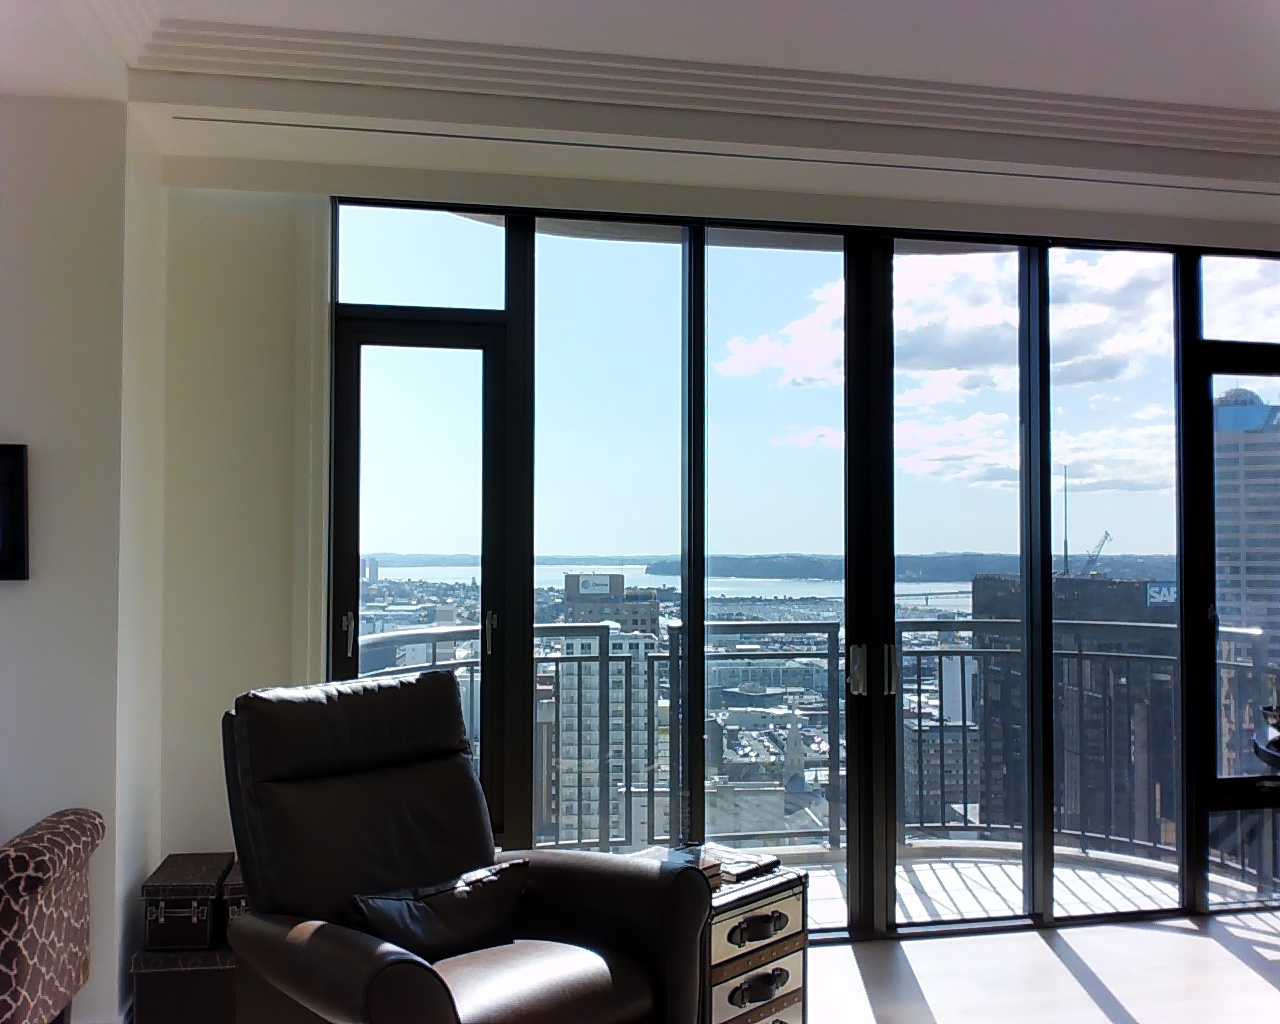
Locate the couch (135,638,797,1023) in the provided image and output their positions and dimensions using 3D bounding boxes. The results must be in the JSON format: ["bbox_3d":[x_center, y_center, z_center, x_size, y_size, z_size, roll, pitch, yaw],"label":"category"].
[{"bbox_3d":[-0.400,0.890,2.480,1.110,1.050,1.040,-1,-2,43],"label":"couch"}]
